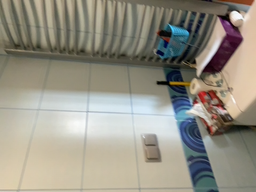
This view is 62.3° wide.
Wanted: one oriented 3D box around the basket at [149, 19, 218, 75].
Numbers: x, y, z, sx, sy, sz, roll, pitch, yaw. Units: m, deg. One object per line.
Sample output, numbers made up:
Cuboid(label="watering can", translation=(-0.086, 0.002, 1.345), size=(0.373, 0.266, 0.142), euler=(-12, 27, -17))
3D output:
Cuboid(label="basket", translation=(0.310, -0.280, 1.250), size=(0.250, 0.300, 0.150), euler=(105, 164, -49))
